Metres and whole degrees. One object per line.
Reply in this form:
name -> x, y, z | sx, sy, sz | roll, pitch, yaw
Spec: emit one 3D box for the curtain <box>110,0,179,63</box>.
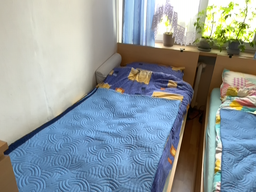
curtain -> 0.180, -1.260, 2.120 | 0.730, 1.810, 0.070 | 10, 28, 13
